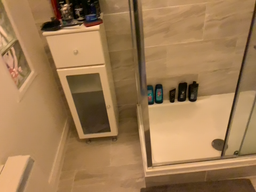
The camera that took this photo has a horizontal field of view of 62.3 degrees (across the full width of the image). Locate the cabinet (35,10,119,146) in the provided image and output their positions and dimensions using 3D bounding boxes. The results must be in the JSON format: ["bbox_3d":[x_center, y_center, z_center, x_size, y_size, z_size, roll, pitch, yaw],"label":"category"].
[{"bbox_3d":[-0.340,-0.090,1.790,0.380,1.090,0.350,-7,37,2],"label":"cabinet"}]
